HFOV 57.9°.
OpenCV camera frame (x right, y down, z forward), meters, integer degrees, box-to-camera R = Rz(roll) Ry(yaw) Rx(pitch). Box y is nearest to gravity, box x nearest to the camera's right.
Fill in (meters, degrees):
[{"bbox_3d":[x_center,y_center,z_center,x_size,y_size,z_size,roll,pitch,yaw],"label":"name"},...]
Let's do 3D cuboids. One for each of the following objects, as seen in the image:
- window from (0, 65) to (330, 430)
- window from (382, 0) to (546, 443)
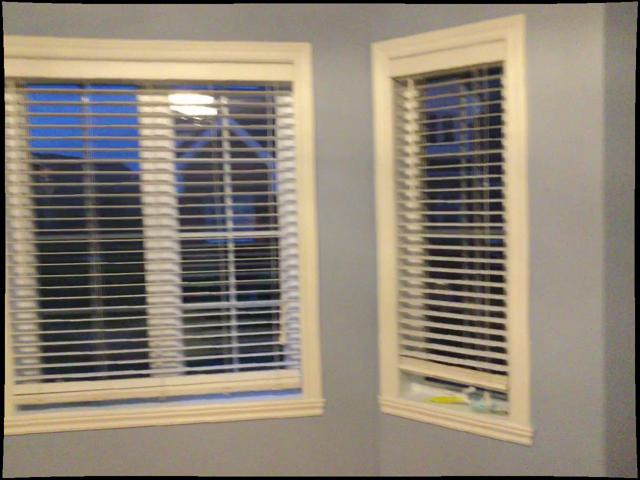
[{"bbox_3d":[-0.679,0.020,2.290,1.379,1.331,0.230,-2,6,-6],"label":"window"},{"bbox_3d":[0.499,-0.100,2.110,0.420,1.491,0.490,-2,6,-6],"label":"window"}]
